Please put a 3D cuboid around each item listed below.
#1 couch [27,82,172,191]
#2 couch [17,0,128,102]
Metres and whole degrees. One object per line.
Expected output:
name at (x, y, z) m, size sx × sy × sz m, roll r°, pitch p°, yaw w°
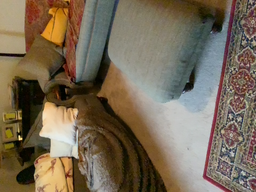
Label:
couch at (-0.320, 0.890, 1.970) m, size 1.830 × 0.720 × 1.090 m, roll 58°, pitch 135°, yaw 33°
couch at (-0.610, -1.080, 2.190) m, size 1.100 × 0.720 × 1.960 m, roll 48°, pitch 129°, yaw 41°
